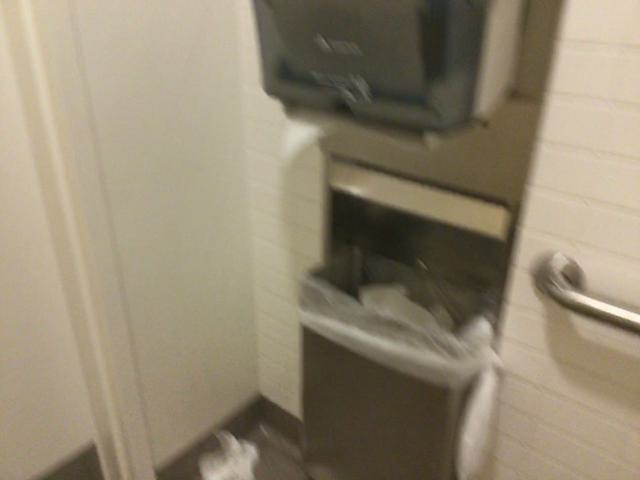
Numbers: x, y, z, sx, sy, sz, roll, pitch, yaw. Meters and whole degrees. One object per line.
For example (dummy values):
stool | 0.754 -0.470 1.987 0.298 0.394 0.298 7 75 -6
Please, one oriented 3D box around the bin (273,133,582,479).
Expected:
bin | 0.170 0.250 1.190 0.470 0.820 0.260 22 32 37
